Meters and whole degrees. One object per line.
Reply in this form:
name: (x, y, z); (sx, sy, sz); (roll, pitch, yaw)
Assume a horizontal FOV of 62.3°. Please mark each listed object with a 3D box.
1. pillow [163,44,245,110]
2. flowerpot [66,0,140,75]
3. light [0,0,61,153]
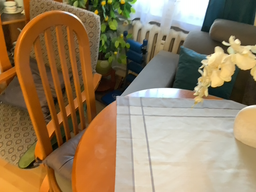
pillow: (0.520, -0.150, 1.460); (0.430, 0.220, 0.300); (23, 40, 19)
flowerpot: (-0.210, -0.640, 1.850); (0.470, 0.700, 0.390); (21, 39, 17)
light: (-0.740, -0.330, 1.330); (0.330, 1.580, 0.350); (22, 39, 18)
